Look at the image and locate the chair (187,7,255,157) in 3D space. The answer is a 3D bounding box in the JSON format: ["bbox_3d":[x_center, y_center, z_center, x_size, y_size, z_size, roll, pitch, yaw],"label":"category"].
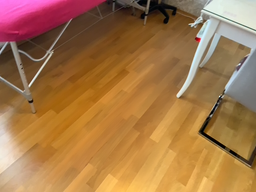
[{"bbox_3d":[0.840,-0.160,1.310,0.420,1.020,0.500,35,52,20],"label":"chair"}]

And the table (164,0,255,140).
[{"bbox_3d":[1.020,-0.210,1.550,1.190,0.770,0.630,33,51,18],"label":"table"}]
